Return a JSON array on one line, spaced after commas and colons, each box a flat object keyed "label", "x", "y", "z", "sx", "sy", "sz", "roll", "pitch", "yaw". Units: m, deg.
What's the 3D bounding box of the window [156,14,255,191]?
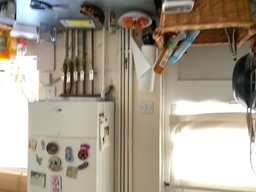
[{"label": "window", "x": 0.670, "y": 0.160, "z": 1.420, "sx": 0.940, "sy": 1.300, "sz": 0.260, "roll": 0, "pitch": -179, "yaw": 11}]

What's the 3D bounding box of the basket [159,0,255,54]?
[{"label": "basket", "x": 0.490, "y": -0.440, "z": 1.220, "sx": 0.580, "sy": 0.270, "sz": 0.550, "roll": 0, "pitch": -179, "yaw": 13}]
